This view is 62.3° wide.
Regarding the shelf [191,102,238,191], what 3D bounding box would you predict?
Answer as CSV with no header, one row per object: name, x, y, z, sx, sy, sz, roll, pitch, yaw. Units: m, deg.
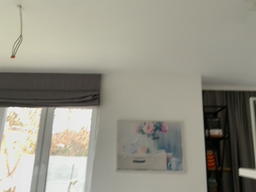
shelf,1.050,1.260,2.570,0.350,2.320,0.510,1,-14,3
